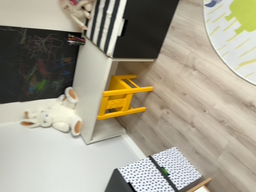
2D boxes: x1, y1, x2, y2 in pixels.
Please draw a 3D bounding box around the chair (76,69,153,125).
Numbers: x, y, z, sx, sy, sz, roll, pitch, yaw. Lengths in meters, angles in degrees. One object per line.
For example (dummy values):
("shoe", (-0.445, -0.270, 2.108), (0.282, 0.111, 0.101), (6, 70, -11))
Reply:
("chair", (-0.130, -0.020, 2.000), (0.420, 0.530, 0.310), (40, 125, 40))
